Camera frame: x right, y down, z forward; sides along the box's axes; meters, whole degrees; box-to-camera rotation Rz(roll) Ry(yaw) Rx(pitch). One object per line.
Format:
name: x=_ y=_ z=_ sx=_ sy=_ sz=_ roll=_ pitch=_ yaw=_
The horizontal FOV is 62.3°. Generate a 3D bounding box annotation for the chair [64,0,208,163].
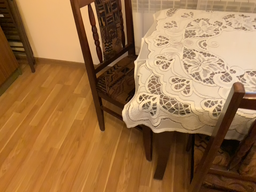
chair: x=0.060 y=-0.130 z=1.250 sx=0.490 sy=0.930 sz=0.430 roll=26 pitch=51 yaw=27

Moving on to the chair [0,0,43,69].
chair: x=-1.150 y=-0.660 z=1.890 sx=0.500 sy=0.870 sz=0.130 roll=8 pitch=45 yaw=11

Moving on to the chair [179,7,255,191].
chair: x=0.500 y=0.190 z=0.910 sx=0.420 sy=0.920 sz=0.490 roll=8 pitch=45 yaw=11
